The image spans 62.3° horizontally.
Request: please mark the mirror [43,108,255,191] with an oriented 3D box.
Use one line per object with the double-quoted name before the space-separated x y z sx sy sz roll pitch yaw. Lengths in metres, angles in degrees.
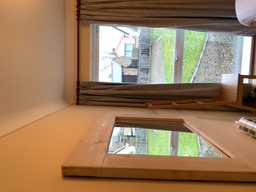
"mirror" 0.180 0.250 1.340 1.230 0.950 0.140 -103 16 -86
